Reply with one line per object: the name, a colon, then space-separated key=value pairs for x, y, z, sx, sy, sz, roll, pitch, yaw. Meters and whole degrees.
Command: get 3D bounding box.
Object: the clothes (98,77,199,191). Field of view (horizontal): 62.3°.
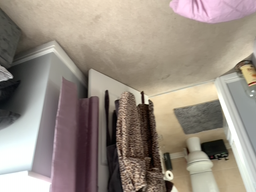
clothes: x=0.150 y=0.590 z=1.330 sx=0.590 sy=1.320 sz=0.320 roll=25 pitch=136 yaw=-38
